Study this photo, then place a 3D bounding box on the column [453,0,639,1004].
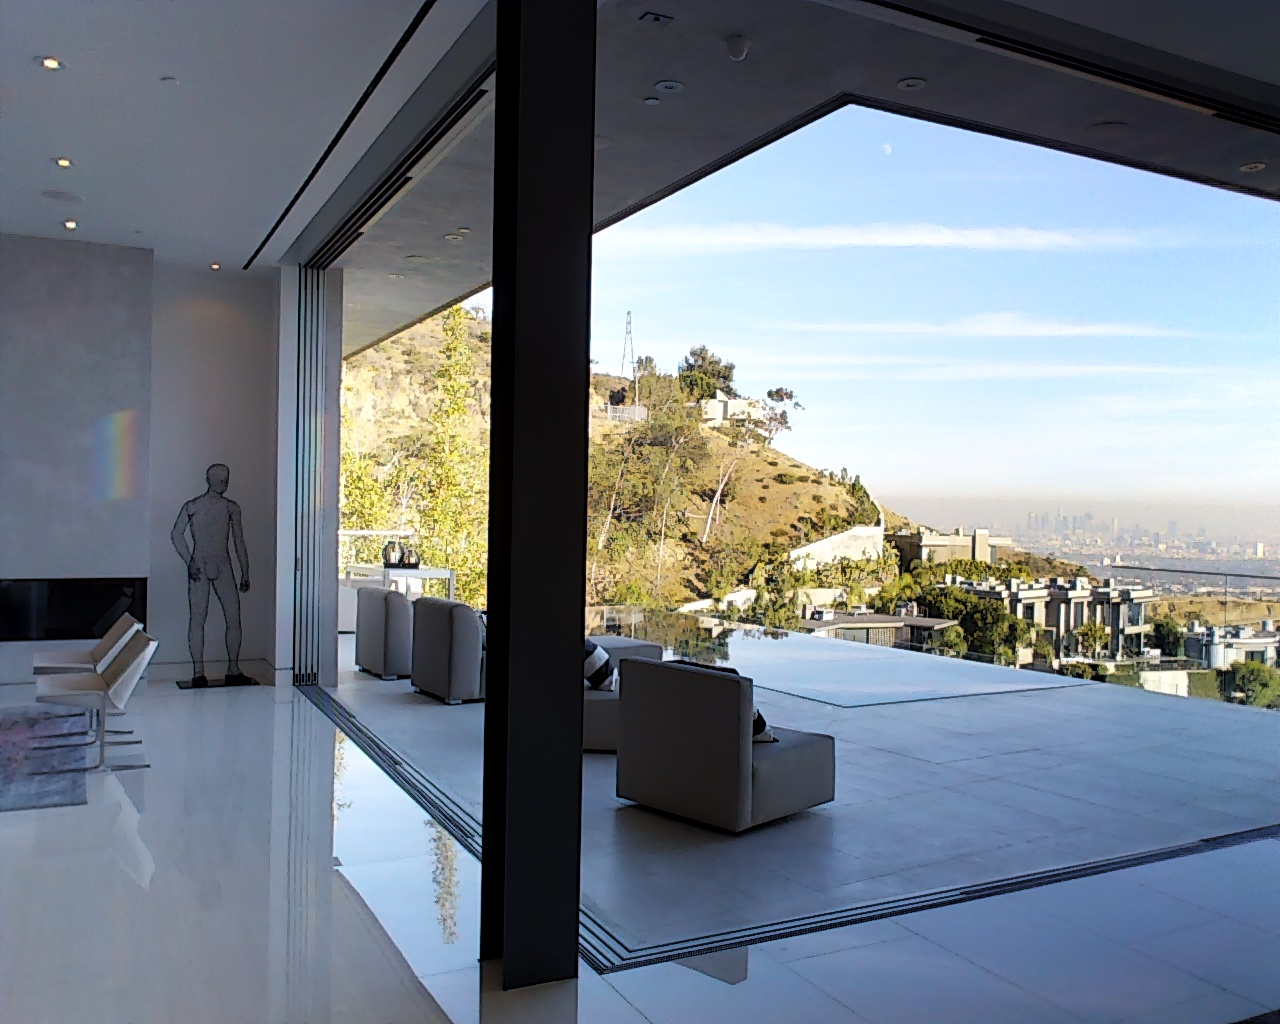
[{"bbox_3d":[-0.320,-0.100,3.560,0.440,3.200,0.430,0,1,-27],"label":"column"}]
